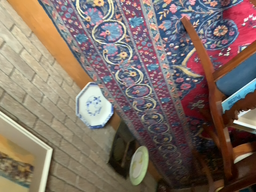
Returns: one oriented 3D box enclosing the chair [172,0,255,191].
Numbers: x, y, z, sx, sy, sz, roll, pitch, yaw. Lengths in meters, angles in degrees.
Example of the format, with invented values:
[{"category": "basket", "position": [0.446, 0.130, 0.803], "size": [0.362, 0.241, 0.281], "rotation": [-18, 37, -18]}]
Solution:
[{"category": "chair", "position": [0.610, -0.060, 0.930], "size": [0.540, 0.880, 0.450], "rotation": [22, 136, -26]}]
